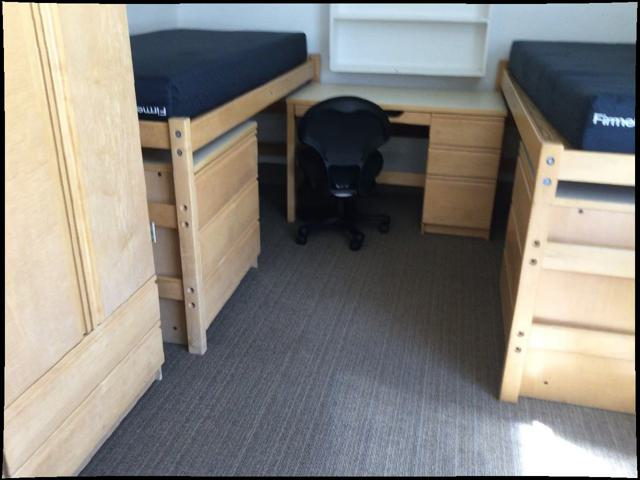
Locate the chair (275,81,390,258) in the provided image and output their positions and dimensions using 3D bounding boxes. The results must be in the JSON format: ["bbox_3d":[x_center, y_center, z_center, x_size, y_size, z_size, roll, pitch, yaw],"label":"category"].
[{"bbox_3d":[0.090,-0.421,3.300,0.529,0.862,0.520,5,25,12],"label":"chair"}]
